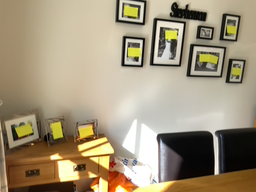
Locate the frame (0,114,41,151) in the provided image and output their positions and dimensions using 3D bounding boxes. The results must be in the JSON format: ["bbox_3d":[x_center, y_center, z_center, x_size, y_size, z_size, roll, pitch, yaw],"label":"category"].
[{"bbox_3d":[-0.850,0.280,1.650,0.300,0.240,0.140,1,12,-17],"label":"frame"}]
